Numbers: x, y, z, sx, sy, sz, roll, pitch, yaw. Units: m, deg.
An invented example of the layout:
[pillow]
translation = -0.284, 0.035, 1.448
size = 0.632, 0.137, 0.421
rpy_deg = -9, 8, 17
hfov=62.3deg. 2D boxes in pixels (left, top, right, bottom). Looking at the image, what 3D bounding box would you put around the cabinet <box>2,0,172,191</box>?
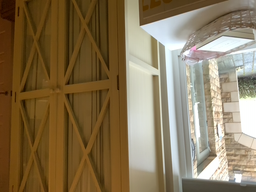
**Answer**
[cabinet]
translation = -0.320, -0.150, 1.570
size = 1.020, 1.980, 0.610
rpy_deg = -6, 173, 29
